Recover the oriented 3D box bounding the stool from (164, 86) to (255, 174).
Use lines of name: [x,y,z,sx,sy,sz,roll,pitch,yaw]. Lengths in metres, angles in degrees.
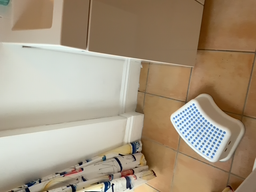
stool: [0.400,0.160,1.080,0.350,0.130,0.250,50,122,28]
